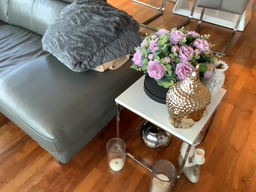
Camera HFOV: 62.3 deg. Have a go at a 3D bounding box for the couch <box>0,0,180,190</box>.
[{"bbox_3d":[-0.530,-0.330,1.440,1.320,0.750,1.030,27,49,25],"label":"couch"}]

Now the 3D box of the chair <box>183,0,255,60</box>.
[{"bbox_3d":[0.910,-0.950,1.950,0.470,0.990,0.560,20,46,19],"label":"chair"}]
